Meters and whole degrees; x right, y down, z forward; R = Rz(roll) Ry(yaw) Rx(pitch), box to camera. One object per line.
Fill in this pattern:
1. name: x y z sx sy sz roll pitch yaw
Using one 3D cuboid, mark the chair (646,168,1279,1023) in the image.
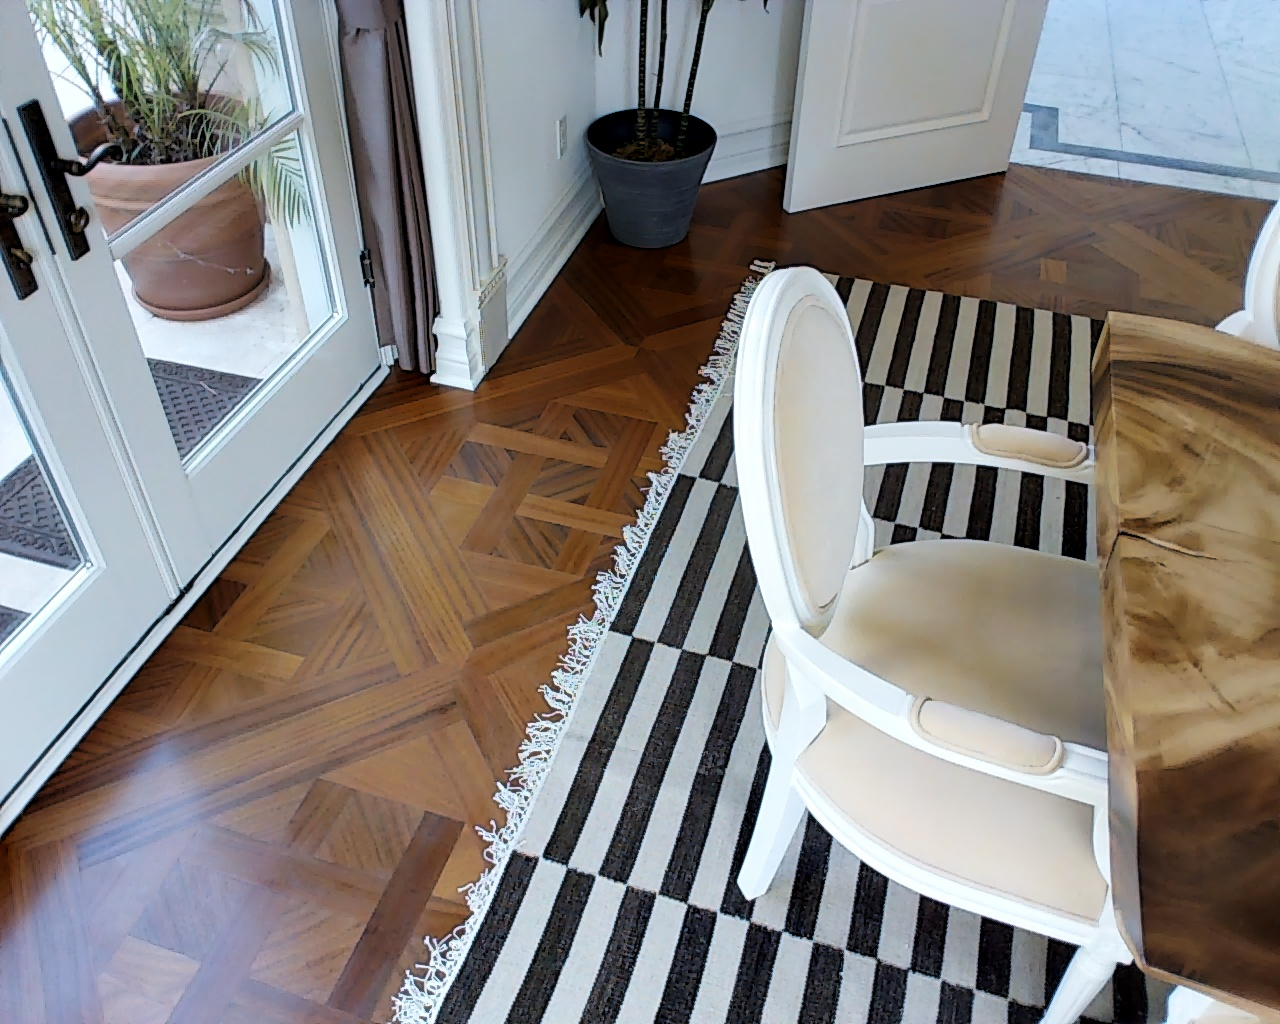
1. chair: 0.450 0.170 1.570 0.700 1.010 0.690 12 43 12
